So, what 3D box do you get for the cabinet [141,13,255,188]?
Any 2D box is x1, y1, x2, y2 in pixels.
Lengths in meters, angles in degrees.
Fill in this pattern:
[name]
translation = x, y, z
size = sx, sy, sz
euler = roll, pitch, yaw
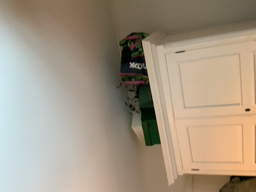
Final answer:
[cabinet]
translation = 1.280, -0.010, 1.820
size = 0.800, 2.010, 1.330
euler = -52, -46, -61
